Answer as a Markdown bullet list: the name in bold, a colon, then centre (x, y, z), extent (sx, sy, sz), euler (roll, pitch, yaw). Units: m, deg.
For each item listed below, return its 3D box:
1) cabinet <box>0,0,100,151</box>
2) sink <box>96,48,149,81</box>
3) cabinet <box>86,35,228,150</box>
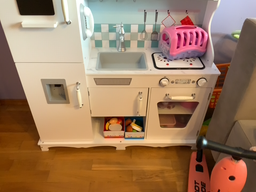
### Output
- **cabinet**: centre (-0.350, -0.220, 1.120), extent (0.320, 1.050, 0.440), euler (1, 38, -2)
- **sink**: centre (-0.030, -0.170, 1.100), extent (0.250, 0.070, 0.210), euler (1, 38, -2)
- **cabinet**: centre (0.120, -0.020, 1.290), extent (0.640, 0.540, 0.440), euler (1, 38, -2)
